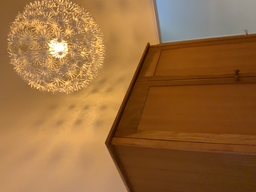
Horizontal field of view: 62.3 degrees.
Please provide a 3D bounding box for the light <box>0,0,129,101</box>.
[{"bbox_3d":[-1.190,-0.490,2.400,1.100,2.110,0.900,33,-121,-66],"label":"light"}]
